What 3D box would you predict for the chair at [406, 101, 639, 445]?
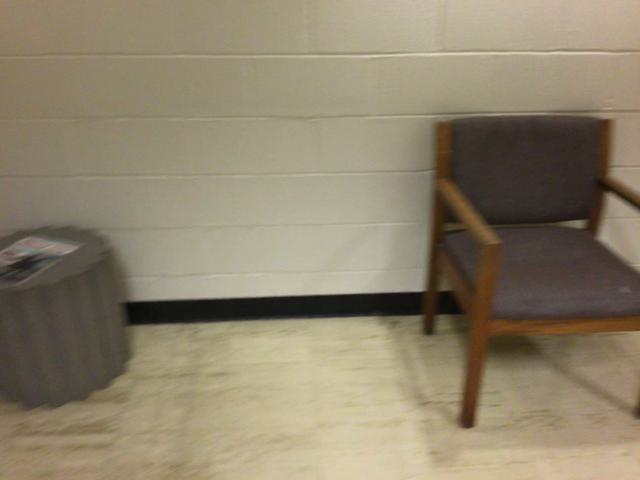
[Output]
[{"bbox_3d":[0.730,0.060,1.850,0.720,0.880,0.670,-1,24,-4],"label":"chair"}]
